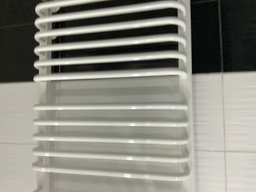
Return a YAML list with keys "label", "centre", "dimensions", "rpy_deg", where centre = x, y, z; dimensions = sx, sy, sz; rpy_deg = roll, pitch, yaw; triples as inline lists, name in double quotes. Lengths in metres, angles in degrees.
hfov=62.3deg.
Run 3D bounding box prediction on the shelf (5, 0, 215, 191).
- label: "shelf"
  centre: [-0.070, 0.170, 0.700]
  dimensions: [0.640, 1.200, 0.140]
  rpy_deg: [-1, 176, 11]
